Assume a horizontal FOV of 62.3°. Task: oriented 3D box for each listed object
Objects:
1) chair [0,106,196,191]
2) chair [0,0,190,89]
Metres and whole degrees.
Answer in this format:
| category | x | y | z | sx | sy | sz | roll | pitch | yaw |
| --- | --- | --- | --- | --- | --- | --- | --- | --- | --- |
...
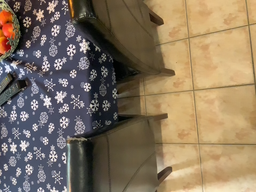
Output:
| category | x | y | z | sx | sy | sz | roll | pitch | yaw |
| --- | --- | --- | --- | --- | --- | --- | --- | --- | --- |
| chair | -0.060 | 0.320 | 1.030 | 0.510 | 1.090 | 0.430 | -10 | 85 | 27 |
| chair | -0.080 | -0.310 | 1.060 | 0.490 | 1.060 | 0.430 | -13 | 84 | 26 |
